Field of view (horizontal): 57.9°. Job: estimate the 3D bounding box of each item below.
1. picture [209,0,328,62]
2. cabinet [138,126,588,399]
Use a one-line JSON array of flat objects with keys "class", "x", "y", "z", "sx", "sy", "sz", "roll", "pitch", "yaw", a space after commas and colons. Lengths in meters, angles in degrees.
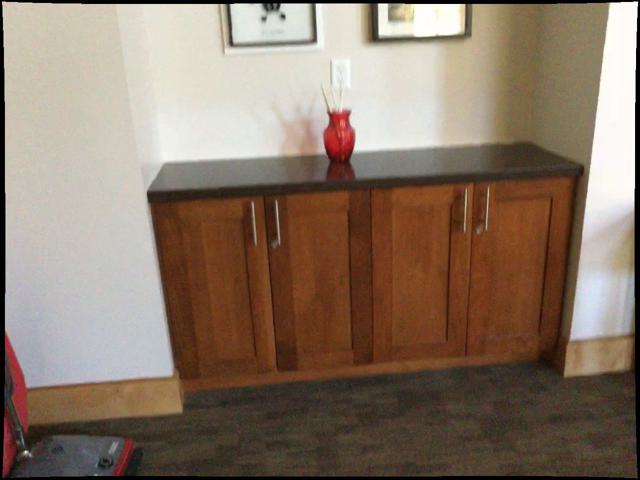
[{"class": "picture", "x": -0.200, "y": -0.971, "z": 2.140, "sx": 0.430, "sy": 0.570, "sz": 0.050, "roll": -4, "pitch": 21, "yaw": -3}, {"class": "cabinet", "x": 0.160, "y": 0.060, "z": 2.290, "sx": 1.499, "sy": 0.841, "sz": 0.500, "roll": -4, "pitch": 21, "yaw": -3}]
